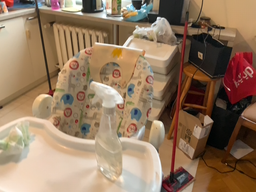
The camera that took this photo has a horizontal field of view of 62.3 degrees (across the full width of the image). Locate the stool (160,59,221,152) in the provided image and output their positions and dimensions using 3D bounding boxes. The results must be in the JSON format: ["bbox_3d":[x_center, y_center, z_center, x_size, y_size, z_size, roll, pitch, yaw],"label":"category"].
[{"bbox_3d":[0.500,0.080,1.750,0.310,0.640,0.300,16,35,19],"label":"stool"}]
